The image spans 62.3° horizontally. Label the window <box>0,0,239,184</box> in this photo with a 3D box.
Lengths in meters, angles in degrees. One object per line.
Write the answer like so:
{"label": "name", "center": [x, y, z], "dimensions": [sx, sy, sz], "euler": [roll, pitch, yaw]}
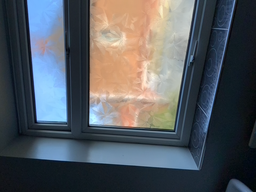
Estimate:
{"label": "window", "center": [-0.110, -0.180, 1.180], "dimensions": [0.280, 1.140, 1.350], "euler": [-88, 3, -68]}
